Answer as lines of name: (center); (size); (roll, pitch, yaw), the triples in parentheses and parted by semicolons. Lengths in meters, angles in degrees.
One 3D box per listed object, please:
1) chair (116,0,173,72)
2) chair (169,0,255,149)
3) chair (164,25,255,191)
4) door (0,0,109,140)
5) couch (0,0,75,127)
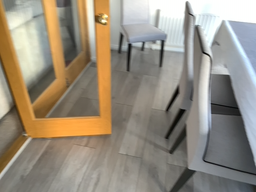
chair: (0.160, -0.960, 2.760); (0.470, 1.050, 0.670); (-8, 38, -16)
chair: (0.720, -0.140, 1.710); (0.580, 1.040, 0.440); (9, 37, 8)
chair: (0.590, 0.210, 1.240); (0.580, 1.030, 0.480); (9, 37, 8)
door: (-0.450, -0.520, 1.210); (0.660, 2.080, 0.120); (-2, 37, -7)
couch: (-1.470, -0.650, 2.390); (1.040, 0.840, 1.830); (8, 37, 6)
